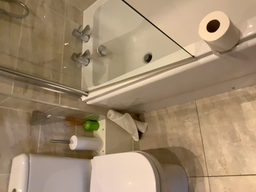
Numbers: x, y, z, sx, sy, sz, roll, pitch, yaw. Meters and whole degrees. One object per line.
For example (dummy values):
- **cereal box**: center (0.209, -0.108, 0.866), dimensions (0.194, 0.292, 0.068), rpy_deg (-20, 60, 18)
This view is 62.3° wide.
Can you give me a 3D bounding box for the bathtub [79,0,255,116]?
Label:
- **bathtub**: center (0.420, -0.400, 1.160), dimensions (1.440, 0.550, 0.700), rpy_deg (-17, 66, 38)
